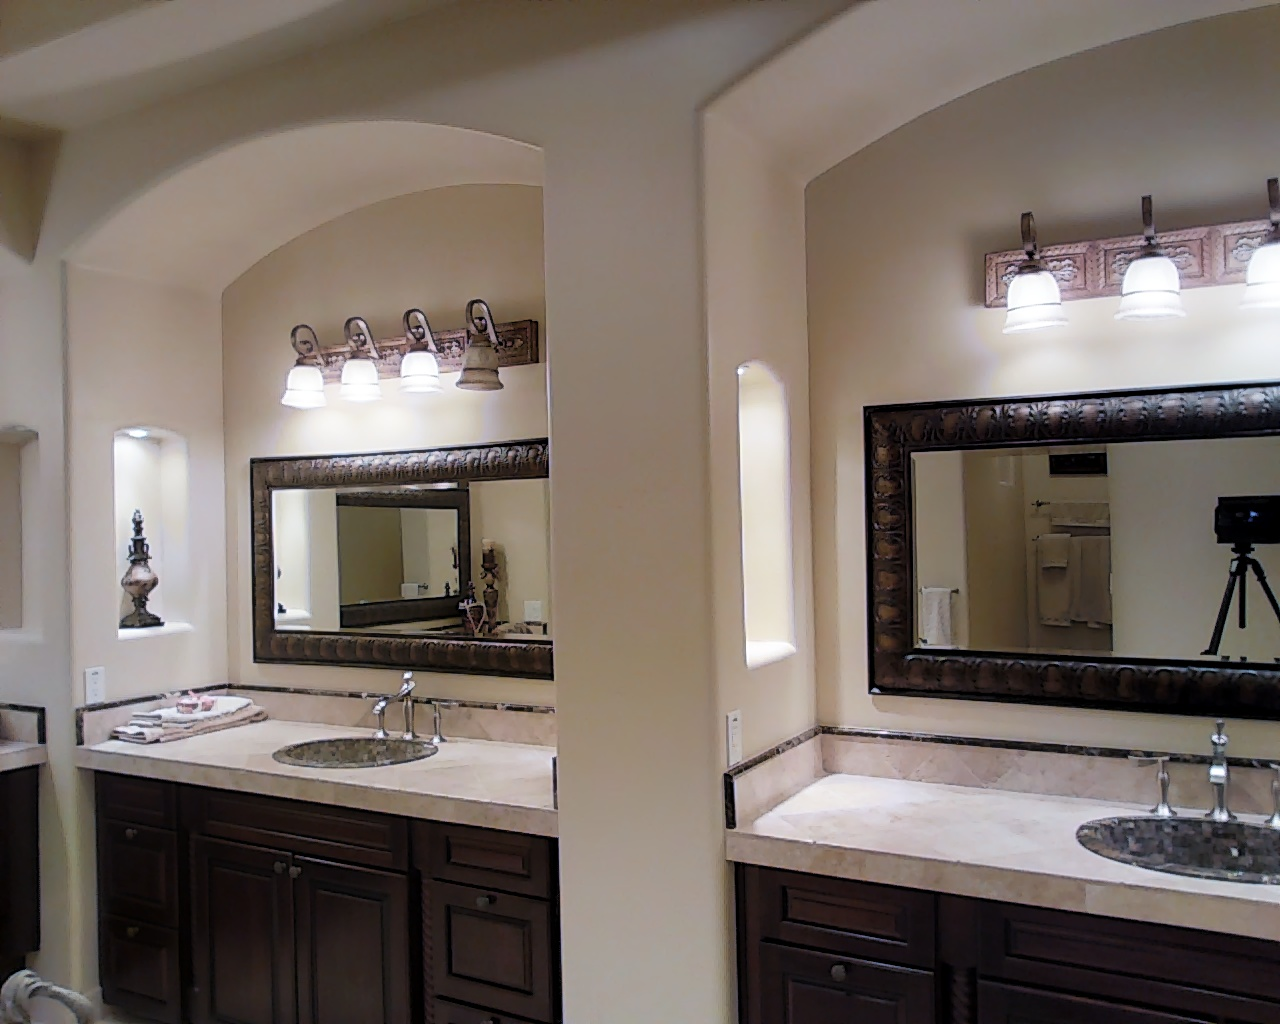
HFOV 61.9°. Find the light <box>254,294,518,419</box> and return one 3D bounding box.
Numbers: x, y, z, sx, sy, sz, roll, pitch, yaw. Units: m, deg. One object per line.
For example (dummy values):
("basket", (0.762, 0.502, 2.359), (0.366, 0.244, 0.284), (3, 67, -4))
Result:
("light", (-0.830, -0.480, 3.410), (0.940, 0.290, 0.190), (-1, -1, 29))

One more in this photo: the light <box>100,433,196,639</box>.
("light", (-1.690, 0.080, 3.670), (0.160, 0.680, 0.250), (-1, -1, 29))

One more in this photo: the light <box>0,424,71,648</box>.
("light", (-2.090, 0.080, 3.610), (0.240, 0.730, 0.190), (-1, -1, 29))

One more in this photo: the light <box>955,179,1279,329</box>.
("light", (1.220, -0.560, 2.270), (1.040, 0.210, 0.170), (-1, -1, 29))

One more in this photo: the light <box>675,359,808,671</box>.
("light", (0.250, 0.010, 2.560), (0.180, 0.690, 0.360), (-1, -1, 29))
